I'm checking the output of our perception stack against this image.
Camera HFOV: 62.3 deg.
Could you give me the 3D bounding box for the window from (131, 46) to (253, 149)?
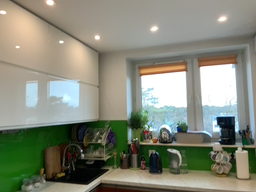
[{"bbox_3d":[0.790,0.040,2.890,1.510,1.250,0.130,-2,-4,19],"label":"window"}]
